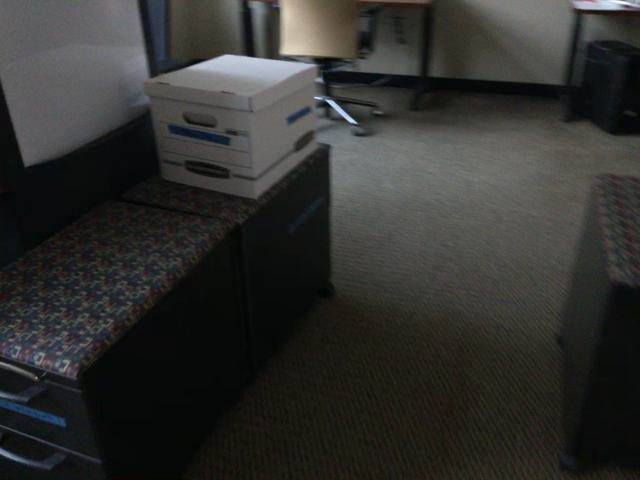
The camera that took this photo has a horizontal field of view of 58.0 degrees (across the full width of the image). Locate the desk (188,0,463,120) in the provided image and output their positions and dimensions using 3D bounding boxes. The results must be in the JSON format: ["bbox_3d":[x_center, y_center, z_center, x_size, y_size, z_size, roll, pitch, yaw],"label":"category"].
[{"bbox_3d":[0.090,-1.370,3.930,1.610,0.830,0.870,5,31,19],"label":"desk"}]

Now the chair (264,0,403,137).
[{"bbox_3d":[0.110,-1.210,3.490,0.660,1.010,0.550,5,31,19],"label":"chair"}]

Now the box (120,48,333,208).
[{"bbox_3d":[-0.240,-0.350,1.700,0.410,0.310,0.460,5,31,19],"label":"box"}]
